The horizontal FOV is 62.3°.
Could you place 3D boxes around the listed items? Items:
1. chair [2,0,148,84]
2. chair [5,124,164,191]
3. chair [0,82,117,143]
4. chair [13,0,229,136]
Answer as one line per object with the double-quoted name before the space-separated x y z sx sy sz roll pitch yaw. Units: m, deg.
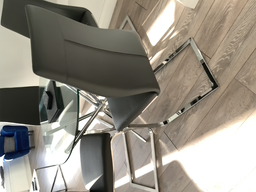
"chair" -0.430 -0.470 1.740 0.450 0.980 0.590 -44 57 46
"chair" -0.300 0.540 1.580 0.480 1.010 0.540 -17 78 54
"chair" -0.690 0.100 2.110 0.540 1.010 0.460 6 96 54
"chair" -0.040 -0.140 1.200 0.590 0.990 0.400 -47 54 44
